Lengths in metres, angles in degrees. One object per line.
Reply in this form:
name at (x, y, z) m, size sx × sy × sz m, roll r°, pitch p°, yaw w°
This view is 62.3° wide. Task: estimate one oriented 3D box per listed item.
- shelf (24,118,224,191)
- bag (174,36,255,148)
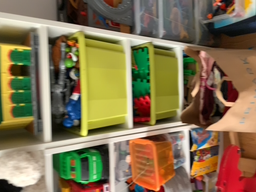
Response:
shelf at (0.080, 0.550, 1.070) m, size 0.280 × 1.040 × 0.770 m, roll 0°, pitch 91°, yaw 53°
bag at (0.530, -0.020, 1.060) m, size 0.310 × 0.530 × 0.410 m, roll 0°, pitch 91°, yaw 53°
